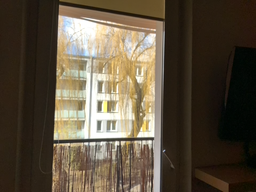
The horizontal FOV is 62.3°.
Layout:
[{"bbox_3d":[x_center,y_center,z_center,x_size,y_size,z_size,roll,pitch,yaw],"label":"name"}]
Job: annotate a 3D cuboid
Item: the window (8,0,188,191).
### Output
[{"bbox_3d":[-0.120,0.320,1.160,0.910,2.500,0.140,3,-2,-19],"label":"window"}]
